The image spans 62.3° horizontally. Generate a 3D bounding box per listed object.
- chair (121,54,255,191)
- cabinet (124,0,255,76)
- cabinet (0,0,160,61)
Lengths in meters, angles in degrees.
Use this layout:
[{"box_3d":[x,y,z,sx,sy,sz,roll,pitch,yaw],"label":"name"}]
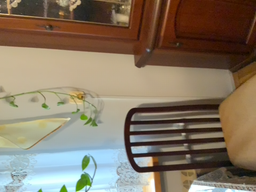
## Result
[{"box_3d":[0.530,0.170,1.100,0.590,0.990,0.460,130,138,-66],"label":"chair"},{"box_3d":[0.490,-0.550,1.440,0.590,0.890,0.610,133,136,-67],"label":"cabinet"},{"box_3d":[-0.470,-0.600,1.180,0.560,1.100,0.540,133,136,-67],"label":"cabinet"}]
